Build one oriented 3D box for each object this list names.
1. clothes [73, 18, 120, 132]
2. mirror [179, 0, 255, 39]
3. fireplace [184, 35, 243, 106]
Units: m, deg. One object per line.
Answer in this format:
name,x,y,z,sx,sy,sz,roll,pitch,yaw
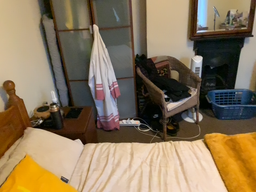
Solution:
clothes,-0.310,-0.170,2.340,0.340,1.270,0.150,-4,28,0
mirror,1.000,-1.180,2.320,0.790,1.040,0.100,-3,28,2
fireplace,1.100,-0.320,2.830,0.590,0.910,0.180,-3,28,1
